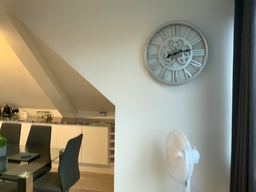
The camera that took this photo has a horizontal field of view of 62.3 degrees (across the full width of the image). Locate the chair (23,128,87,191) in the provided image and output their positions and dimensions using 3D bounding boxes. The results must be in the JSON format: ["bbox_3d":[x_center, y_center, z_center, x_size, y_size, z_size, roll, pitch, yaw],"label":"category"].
[{"bbox_3d":[-0.830,0.940,2.490,0.550,1.010,0.450,1,3,11],"label":"chair"}]

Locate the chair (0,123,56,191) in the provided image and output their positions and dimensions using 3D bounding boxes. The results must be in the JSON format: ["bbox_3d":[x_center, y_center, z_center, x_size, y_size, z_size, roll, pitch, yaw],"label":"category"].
[{"bbox_3d":[-1.280,0.910,2.750,0.430,1.020,0.550,1,3,11],"label":"chair"}]
